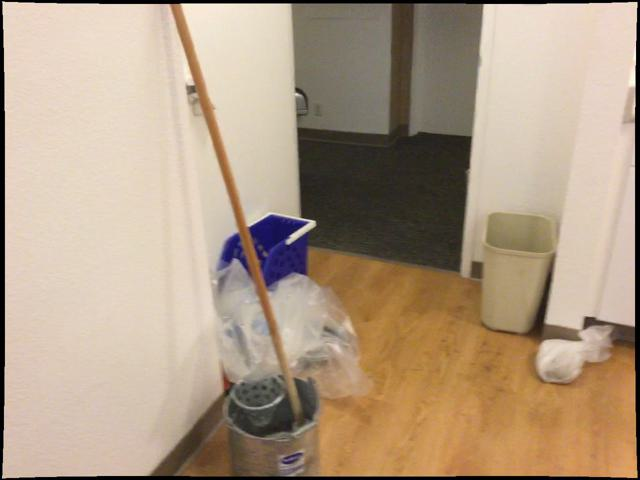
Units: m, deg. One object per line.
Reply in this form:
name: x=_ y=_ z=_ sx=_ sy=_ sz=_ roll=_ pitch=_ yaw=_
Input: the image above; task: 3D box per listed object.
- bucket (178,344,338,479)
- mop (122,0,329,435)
bucket: x=-0.170 y=0.561 z=1.740 sx=0.349 sy=0.291 sz=0.320 roll=10 pitch=29 yaw=22
mop: x=-0.219 y=-0.010 z=1.600 sx=0.120 sy=1.282 sz=0.120 roll=-4 pitch=23 yaw=31
